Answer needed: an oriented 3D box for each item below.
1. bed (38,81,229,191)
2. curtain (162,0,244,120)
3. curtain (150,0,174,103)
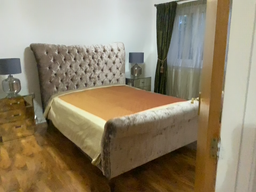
[{"bbox_3d":[-0.150,0.320,3.280,1.700,0.560,2.550,-11,17,-34],"label":"bed"},{"bbox_3d":[1.270,-0.750,4.000,0.230,2.040,1.480,-10,17,-34],"label":"curtain"},{"bbox_3d":[0.750,-0.960,4.760,0.190,2.180,0.480,-10,17,-32],"label":"curtain"}]
